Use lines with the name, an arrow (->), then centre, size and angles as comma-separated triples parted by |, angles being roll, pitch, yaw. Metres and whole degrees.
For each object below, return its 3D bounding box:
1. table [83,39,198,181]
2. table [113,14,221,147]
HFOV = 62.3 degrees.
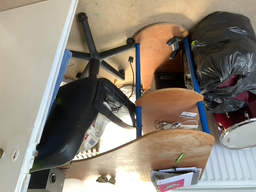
table -> 0.110, 0.130, 1.580 | 0.690, 0.800, 0.340 | 28, 138, -33
table -> 0.180, -0.130, 1.200 | 0.460, 0.800, 0.140 | -4, 145, 8
